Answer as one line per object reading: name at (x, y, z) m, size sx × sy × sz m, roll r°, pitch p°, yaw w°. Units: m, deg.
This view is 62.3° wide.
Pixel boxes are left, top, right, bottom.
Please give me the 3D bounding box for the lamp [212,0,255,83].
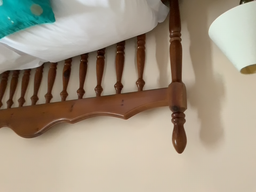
lamp at (0.400, -0.310, 0.730) m, size 0.190 × 0.460 × 0.230 m, roll -7°, pitch 162°, yaw 26°
